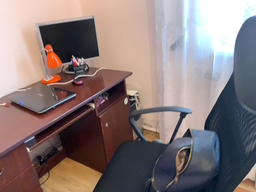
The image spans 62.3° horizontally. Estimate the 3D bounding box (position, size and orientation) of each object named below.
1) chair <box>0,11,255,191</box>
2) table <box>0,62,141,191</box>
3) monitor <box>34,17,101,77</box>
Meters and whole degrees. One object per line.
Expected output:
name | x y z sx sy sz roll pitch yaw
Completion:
chair | 0.140 0.340 0.860 0.700 1.170 0.680 1 27 13
table | -0.540 0.340 1.480 0.710 0.740 1.310 10 30 29
monitor | -0.450 -0.390 1.670 0.440 0.390 0.040 -16 28 -21
